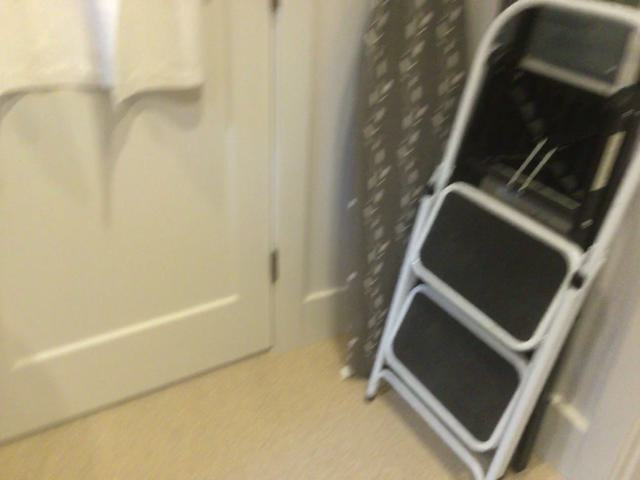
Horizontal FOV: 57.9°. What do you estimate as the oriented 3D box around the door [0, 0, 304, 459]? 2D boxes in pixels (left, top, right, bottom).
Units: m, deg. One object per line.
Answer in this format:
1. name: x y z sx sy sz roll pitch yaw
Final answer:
1. door: -0.460 -0.410 1.090 0.900 1.960 0.110 -13 34 -25
